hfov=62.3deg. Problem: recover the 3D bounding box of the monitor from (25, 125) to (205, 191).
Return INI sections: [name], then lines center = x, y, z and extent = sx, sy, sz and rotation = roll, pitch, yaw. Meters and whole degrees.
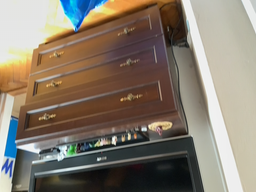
[monitor]
center = -0.120, 0.550, 1.040
extent = 0.970, 0.660, 0.050
rotation = -13, 153, 18
